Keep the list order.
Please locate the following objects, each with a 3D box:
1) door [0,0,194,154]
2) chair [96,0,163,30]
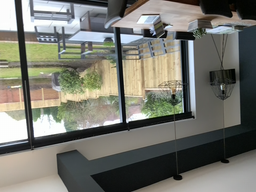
[{"bbox_3d":[-0.830,-0.560,3.400,4.950,2.500,0.100,-6,-175,-28],"label":"door"},{"bbox_3d":[-0.010,-1.300,2.490,0.580,0.880,0.520,-6,-175,-31],"label":"chair"}]
